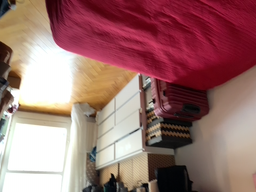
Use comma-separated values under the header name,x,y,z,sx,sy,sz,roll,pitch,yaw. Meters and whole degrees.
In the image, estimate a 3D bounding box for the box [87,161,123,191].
name,x,y,z,sx,sy,sz,roll,pitch,yaw
box,-0.330,1.130,2.920,0.280,0.340,0.700,10,152,-22
